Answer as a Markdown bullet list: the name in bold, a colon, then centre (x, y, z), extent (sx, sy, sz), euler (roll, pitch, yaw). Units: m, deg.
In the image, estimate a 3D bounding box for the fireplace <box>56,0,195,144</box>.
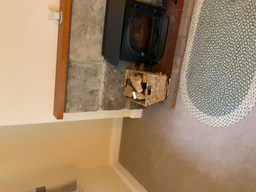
- **fireplace**: centre (-0.010, -0.510, 1.730), extent (0.490, 0.900, 1.600), euler (24, 110, 54)
